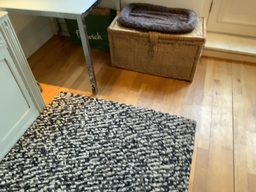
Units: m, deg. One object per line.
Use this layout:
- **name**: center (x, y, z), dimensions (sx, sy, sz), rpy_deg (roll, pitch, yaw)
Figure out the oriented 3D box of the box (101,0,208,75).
- **box**: center (0.260, -0.600, 2.100), dimensions (0.890, 0.430, 0.480), rpy_deg (12, 46, 13)
